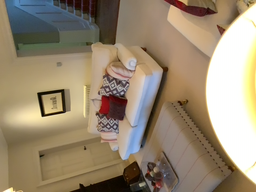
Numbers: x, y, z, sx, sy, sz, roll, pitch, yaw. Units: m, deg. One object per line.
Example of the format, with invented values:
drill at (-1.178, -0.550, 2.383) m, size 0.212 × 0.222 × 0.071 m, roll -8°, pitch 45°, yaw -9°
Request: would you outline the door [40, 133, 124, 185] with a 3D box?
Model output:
door at (-1.270, 1.680, 5.890) m, size 0.100 × 2.100 × 0.950 m, roll 102°, pitch 150°, yaw -42°
